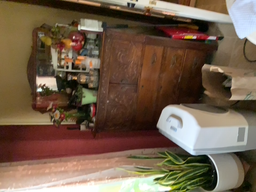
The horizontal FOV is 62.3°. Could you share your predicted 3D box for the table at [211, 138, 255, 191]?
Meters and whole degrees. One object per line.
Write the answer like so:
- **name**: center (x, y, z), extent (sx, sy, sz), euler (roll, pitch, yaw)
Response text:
- **table**: center (0.910, 0.580, 1.810), extent (0.310, 0.150, 0.320), euler (-140, 54, -64)
